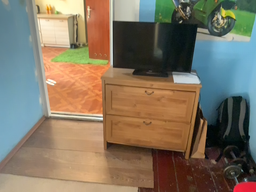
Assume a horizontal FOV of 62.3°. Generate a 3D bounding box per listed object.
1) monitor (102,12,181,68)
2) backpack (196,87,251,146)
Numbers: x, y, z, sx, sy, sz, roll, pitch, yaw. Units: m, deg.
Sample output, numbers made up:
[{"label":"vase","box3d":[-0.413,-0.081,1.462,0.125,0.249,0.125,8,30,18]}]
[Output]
[{"label":"monitor","box3d":[0.100,-0.500,1.910,0.670,0.440,0.050,6,26,7]},{"label":"backpack","box3d":[0.980,0.210,2.250,0.360,0.510,0.300,4,26,4]}]
